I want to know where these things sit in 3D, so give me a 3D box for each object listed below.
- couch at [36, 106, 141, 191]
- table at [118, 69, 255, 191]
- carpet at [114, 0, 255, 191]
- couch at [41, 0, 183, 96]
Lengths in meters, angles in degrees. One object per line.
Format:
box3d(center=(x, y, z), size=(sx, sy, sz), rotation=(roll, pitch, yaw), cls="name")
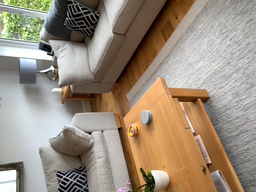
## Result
box3d(center=(-0.480, 1.360, 2.530), size=(1.040, 0.950, 2.250), rotation=(-52, 46, 47), cls="couch")
box3d(center=(0.410, 0.540, 1.480), size=(0.680, 0.470, 1.270), rotation=(-52, 46, 47), cls="table")
box3d(center=(0.540, 0.550, 1.570), size=(1.950, 0.070, 2.410), rotation=(-50, 47, 48), cls="carpet")
box3d(center=(-0.280, -1.010, 2.320), size=(2.240, 0.960, 0.990), rotation=(-50, 47, 48), cls="couch")
